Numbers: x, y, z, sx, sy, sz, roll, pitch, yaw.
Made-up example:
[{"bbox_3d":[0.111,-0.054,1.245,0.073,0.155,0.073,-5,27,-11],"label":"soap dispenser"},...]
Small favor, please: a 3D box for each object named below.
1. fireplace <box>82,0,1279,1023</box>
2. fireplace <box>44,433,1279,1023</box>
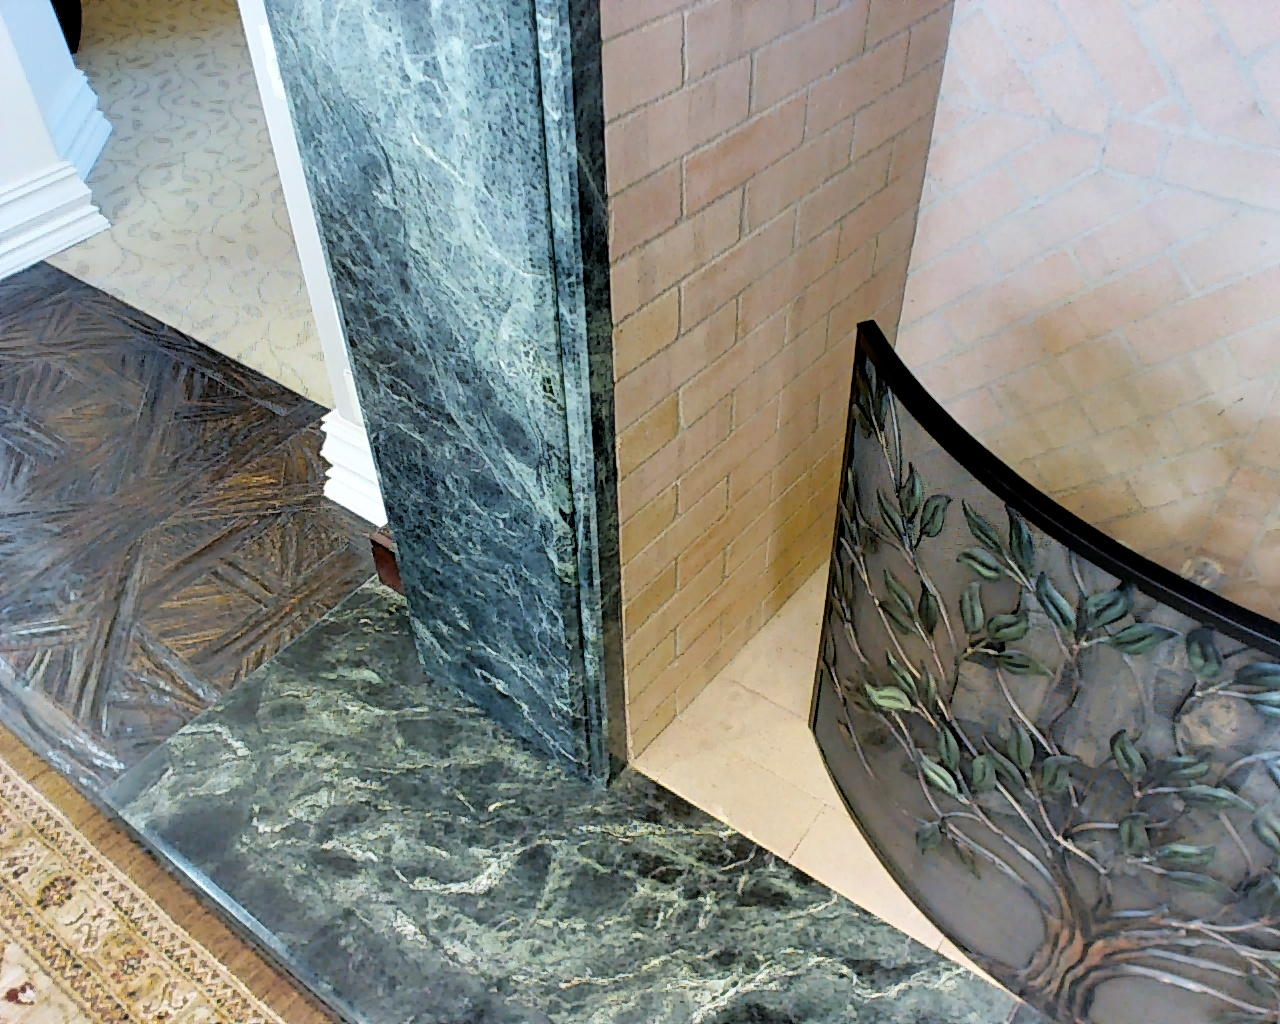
[{"bbox_3d":[0.640,-0.240,0.910,2.570,1.990,0.780,26,49,26],"label":"fireplace"},{"bbox_3d":[0.460,0.660,1.360,2.560,0.090,1.050,26,49,26],"label":"fireplace"}]
